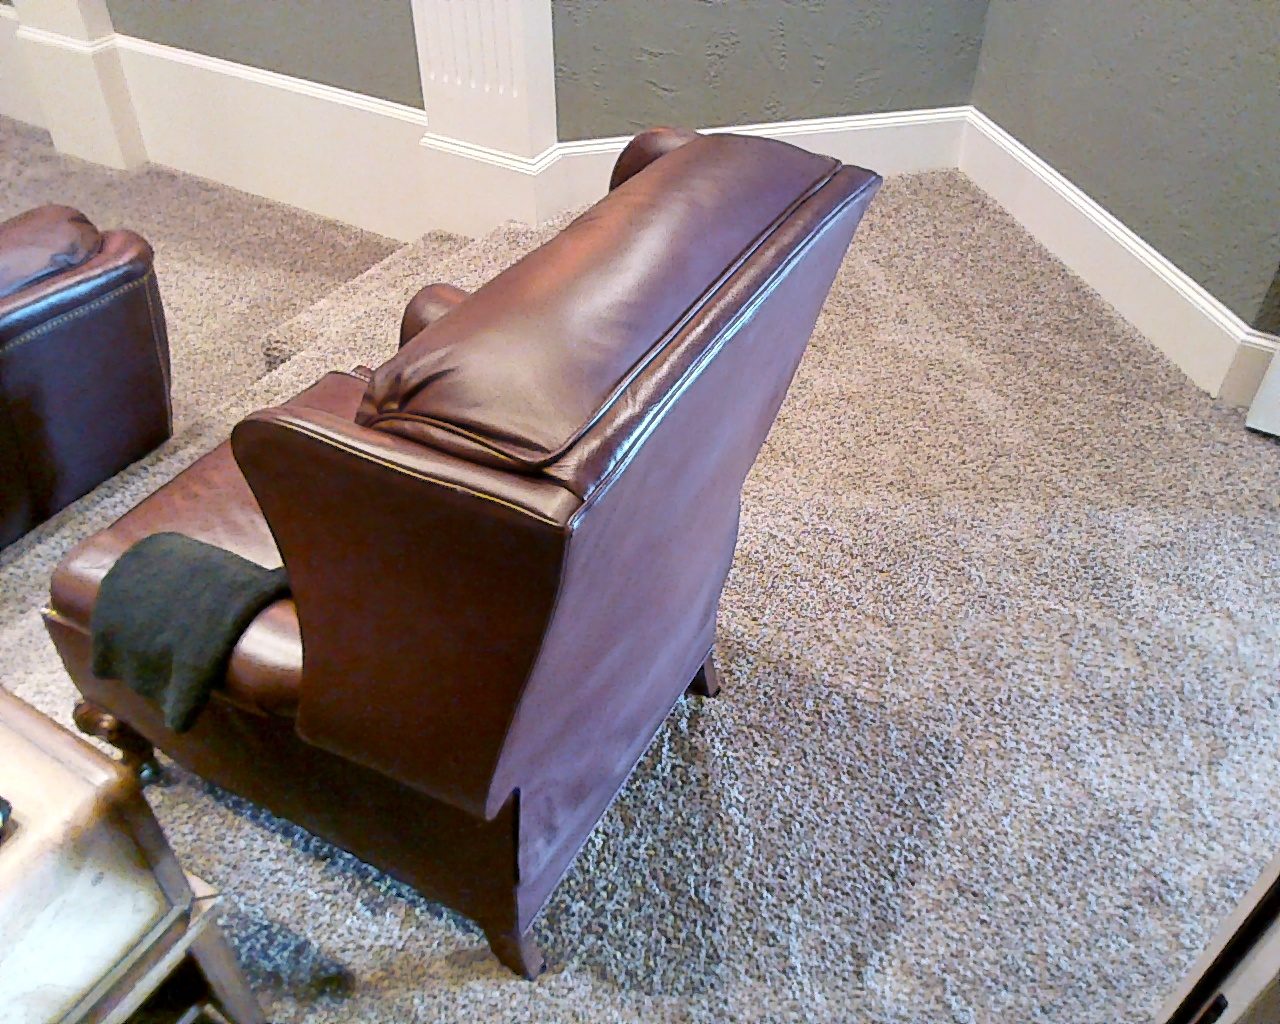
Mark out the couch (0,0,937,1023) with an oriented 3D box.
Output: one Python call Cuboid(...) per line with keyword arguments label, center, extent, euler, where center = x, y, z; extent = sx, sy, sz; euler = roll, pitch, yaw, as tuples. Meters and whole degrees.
Cuboid(label="couch", center=(-0.290, 0.000, 1.530), extent=(0.980, 1.090, 0.840), euler=(22, 46, 22))
